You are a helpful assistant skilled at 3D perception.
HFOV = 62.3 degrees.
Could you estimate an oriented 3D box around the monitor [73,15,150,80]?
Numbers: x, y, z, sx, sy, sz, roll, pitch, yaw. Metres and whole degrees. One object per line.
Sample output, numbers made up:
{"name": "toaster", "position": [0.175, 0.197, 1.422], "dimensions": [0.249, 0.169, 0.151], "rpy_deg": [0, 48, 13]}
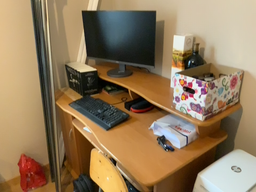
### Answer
{"name": "monitor", "position": [-0.130, -0.370, 1.570], "dimensions": [0.620, 0.430, 0.040], "rpy_deg": [12, 29, 28]}
